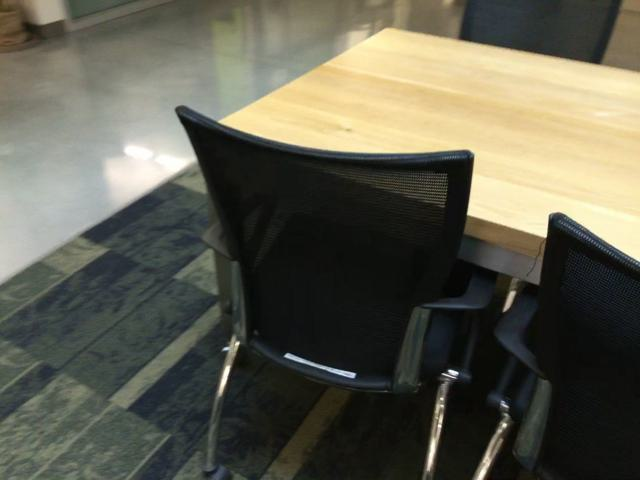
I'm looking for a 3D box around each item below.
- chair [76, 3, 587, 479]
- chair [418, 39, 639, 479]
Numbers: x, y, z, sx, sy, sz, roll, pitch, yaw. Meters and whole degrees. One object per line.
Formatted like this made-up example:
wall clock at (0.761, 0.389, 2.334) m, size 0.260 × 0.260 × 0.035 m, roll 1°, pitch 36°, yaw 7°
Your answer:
chair at (0.080, 0.070, 1.240) m, size 0.580 × 0.900 × 0.750 m, roll 19°, pitch 38°, yaw 25°
chair at (0.590, 0.240, 0.990) m, size 0.550 × 0.890 × 0.780 m, roll 21°, pitch 39°, yaw 27°
